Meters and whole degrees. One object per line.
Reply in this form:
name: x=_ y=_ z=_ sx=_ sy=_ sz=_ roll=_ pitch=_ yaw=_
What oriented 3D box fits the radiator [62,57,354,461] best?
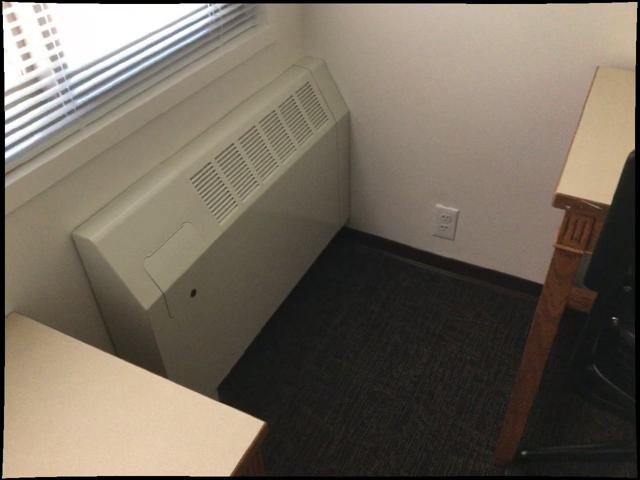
radiator: x=-0.190 y=0.000 z=1.540 sx=0.170 sy=0.661 sz=0.910 roll=18 pitch=42 yaw=21
